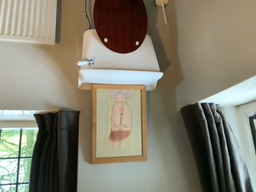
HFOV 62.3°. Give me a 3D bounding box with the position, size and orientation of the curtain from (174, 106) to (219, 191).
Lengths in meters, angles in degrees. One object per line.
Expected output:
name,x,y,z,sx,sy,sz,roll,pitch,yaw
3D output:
curtain,0.430,0.610,1.260,0.090,1.070,0.240,1,164,-15

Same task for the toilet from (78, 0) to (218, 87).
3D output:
toilet,-0.010,-0.620,1.210,0.520,0.970,0.680,0,164,-14
